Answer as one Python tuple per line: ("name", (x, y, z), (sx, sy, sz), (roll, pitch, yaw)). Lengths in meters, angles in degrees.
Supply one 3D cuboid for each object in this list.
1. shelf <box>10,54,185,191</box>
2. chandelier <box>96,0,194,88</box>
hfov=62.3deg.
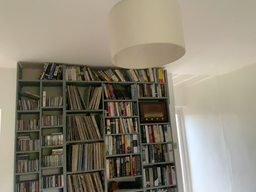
("shelf", (-0.320, 0.820, 2.770), (2.090, 2.630, 0.350), (0, -11, -18))
("chandelier", (0.100, -0.390, 1.180), (0.340, 0.580, 0.430), (-10, -12, 32))
